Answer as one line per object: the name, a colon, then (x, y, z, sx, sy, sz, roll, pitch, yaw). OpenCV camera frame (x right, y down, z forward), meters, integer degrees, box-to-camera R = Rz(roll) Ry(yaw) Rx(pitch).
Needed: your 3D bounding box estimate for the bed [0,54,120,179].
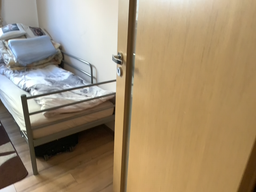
bed: (-1.120, -0.010, 2.670, 0.890, 0.510, 2.150, -16, 31, -37)

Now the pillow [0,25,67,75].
pillow: (-1.430, -0.690, 2.960, 0.780, 0.450, 0.910, -15, 30, -35)
